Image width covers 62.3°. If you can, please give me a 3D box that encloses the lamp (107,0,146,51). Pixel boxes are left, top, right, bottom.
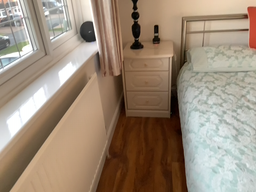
[{"bbox_3d":[0.000,-0.850,2.140,0.330,0.700,0.300,0,28,9],"label":"lamp"}]

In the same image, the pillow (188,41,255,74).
[{"bbox_3d":[0.960,-0.390,2.090,0.650,0.160,0.510,0,28,9],"label":"pillow"}]
